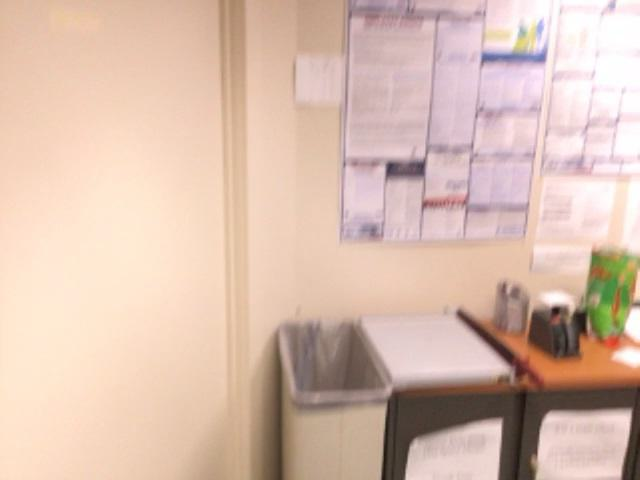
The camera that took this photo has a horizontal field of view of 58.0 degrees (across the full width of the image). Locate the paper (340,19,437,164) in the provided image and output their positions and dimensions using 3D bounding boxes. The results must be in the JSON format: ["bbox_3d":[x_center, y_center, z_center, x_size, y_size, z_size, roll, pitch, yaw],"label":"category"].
[{"bbox_3d":[0.220,-0.460,1.810,0.290,0.420,0.030,-5,16,-4],"label":"paper"}]

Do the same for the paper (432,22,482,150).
[{"bbox_3d":[0.430,-0.480,1.820,0.150,0.380,0.020,-4,14,-3],"label":"paper"}]

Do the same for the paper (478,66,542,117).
[{"bbox_3d":[0.600,-0.470,1.830,0.190,0.140,0.030,-5,17,-2],"label":"paper"}]

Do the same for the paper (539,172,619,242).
[{"bbox_3d":[0.870,-0.110,1.950,0.250,0.220,0.020,-4,15,-1],"label":"paper"}]

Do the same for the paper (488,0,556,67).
[{"bbox_3d":[0.620,-0.740,1.770,0.200,0.390,0.030,-5,17,-3],"label":"paper"}]

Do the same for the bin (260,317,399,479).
[{"bbox_3d":[0.010,0.690,1.750,0.340,0.740,0.530,-3,14,-5],"label":"bin"}]

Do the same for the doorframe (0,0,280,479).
[{"bbox_3d":[-0.520,0.160,1.400,0.120,1.950,1.010,9,17,38],"label":"doorframe"}]
